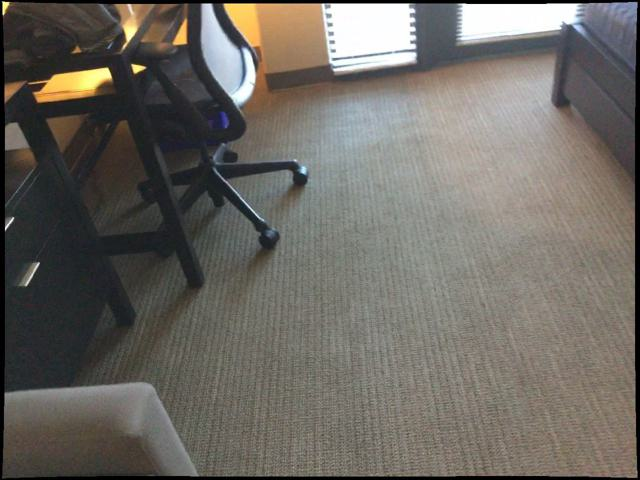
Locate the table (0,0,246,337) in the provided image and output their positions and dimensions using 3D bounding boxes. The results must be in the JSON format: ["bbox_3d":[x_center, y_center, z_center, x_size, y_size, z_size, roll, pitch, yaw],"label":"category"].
[{"bbox_3d":[-0.818,-0.511,2.180,0.808,0.841,1.482,-6,40,3],"label":"table"}]
